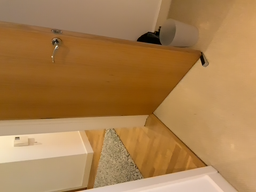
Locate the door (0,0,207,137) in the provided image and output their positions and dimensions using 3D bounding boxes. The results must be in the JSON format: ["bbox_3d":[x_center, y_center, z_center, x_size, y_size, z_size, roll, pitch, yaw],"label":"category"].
[{"bbox_3d":[-0.570,-0.080,1.430,1.010,2.160,0.140,-62,38,40],"label":"door"}]
